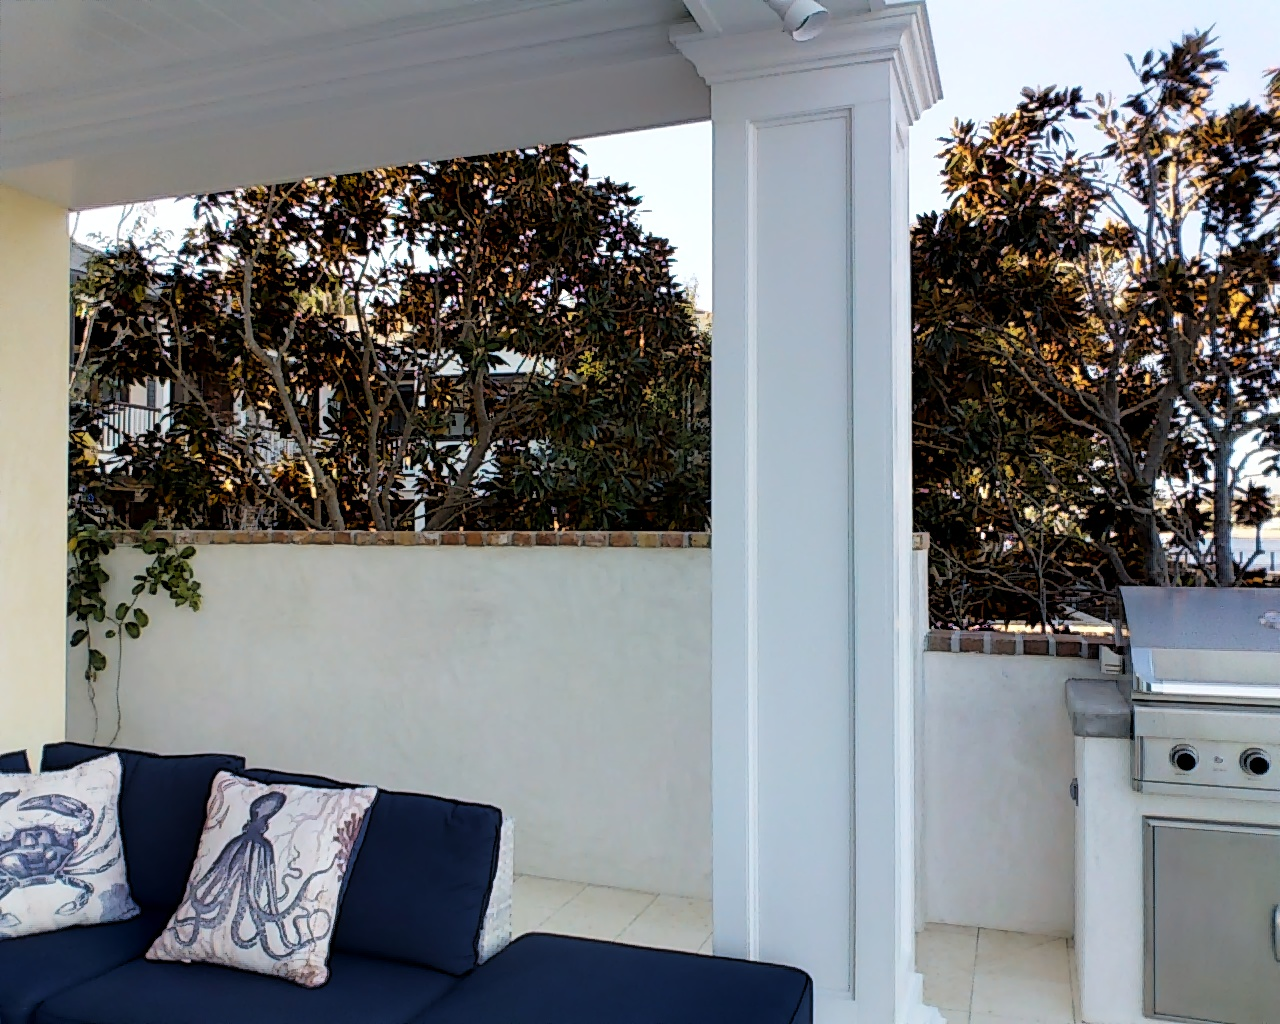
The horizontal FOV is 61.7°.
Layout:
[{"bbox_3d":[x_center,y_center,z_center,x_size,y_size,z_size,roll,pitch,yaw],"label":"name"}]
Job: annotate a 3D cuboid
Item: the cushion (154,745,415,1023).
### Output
[{"bbox_3d":[-0.840,0.870,2.520,0.470,0.430,0.160,28,8,18],"label":"cushion"}]
